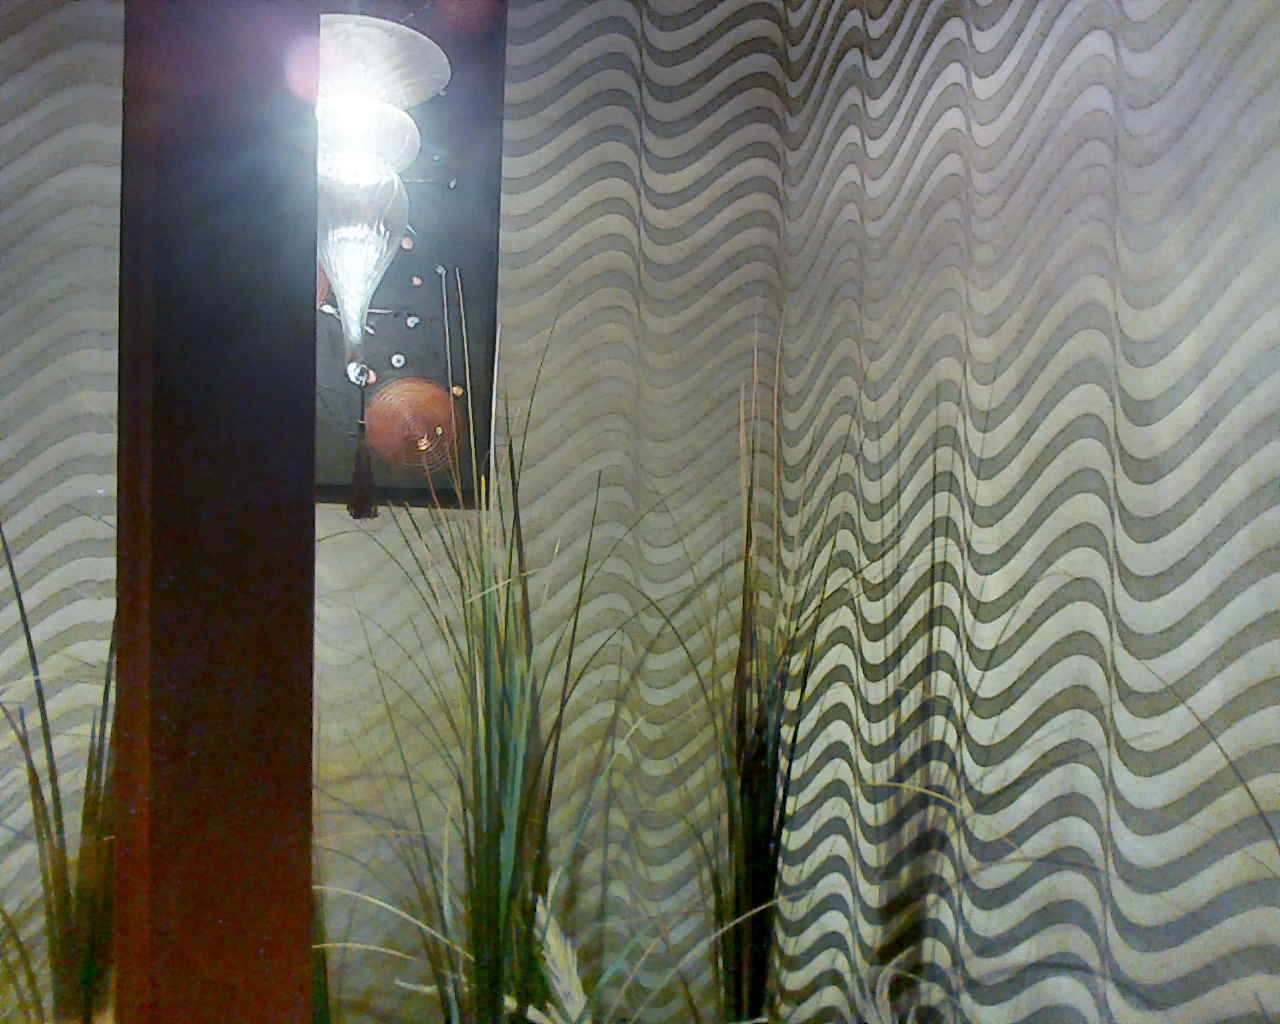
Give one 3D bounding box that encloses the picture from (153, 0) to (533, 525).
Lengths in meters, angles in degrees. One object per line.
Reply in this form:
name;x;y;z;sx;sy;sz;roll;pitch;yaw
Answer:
picture;-0.390;-0.420;1.460;0.480;0.870;0.060;1;0;-18
